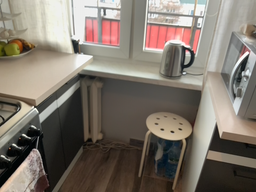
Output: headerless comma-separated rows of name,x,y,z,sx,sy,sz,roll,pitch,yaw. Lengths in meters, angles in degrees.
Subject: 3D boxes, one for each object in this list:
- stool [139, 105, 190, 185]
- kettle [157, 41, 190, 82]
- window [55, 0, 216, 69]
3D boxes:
stool,0.270,0.360,1.590,0.290,0.450,0.300,10,29,11
kettle,0.300,-0.230,1.400,0.170,0.220,0.120,12,29,14
window,0.040,-0.910,1.320,1.080,1.390,0.110,9,29,9
